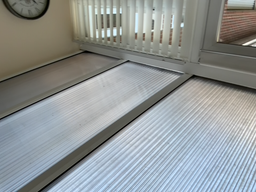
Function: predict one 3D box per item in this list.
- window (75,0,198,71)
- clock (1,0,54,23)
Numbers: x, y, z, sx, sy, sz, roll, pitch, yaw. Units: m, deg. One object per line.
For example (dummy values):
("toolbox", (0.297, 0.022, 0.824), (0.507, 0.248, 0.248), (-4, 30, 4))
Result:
("window", (-0.020, -1.040, 1.550), (1.170, 1.530, 0.040), (18, -151, 34))
("clock", (-0.850, -0.850, 1.790), (0.050, 0.410, 0.420), (19, -150, 35))
